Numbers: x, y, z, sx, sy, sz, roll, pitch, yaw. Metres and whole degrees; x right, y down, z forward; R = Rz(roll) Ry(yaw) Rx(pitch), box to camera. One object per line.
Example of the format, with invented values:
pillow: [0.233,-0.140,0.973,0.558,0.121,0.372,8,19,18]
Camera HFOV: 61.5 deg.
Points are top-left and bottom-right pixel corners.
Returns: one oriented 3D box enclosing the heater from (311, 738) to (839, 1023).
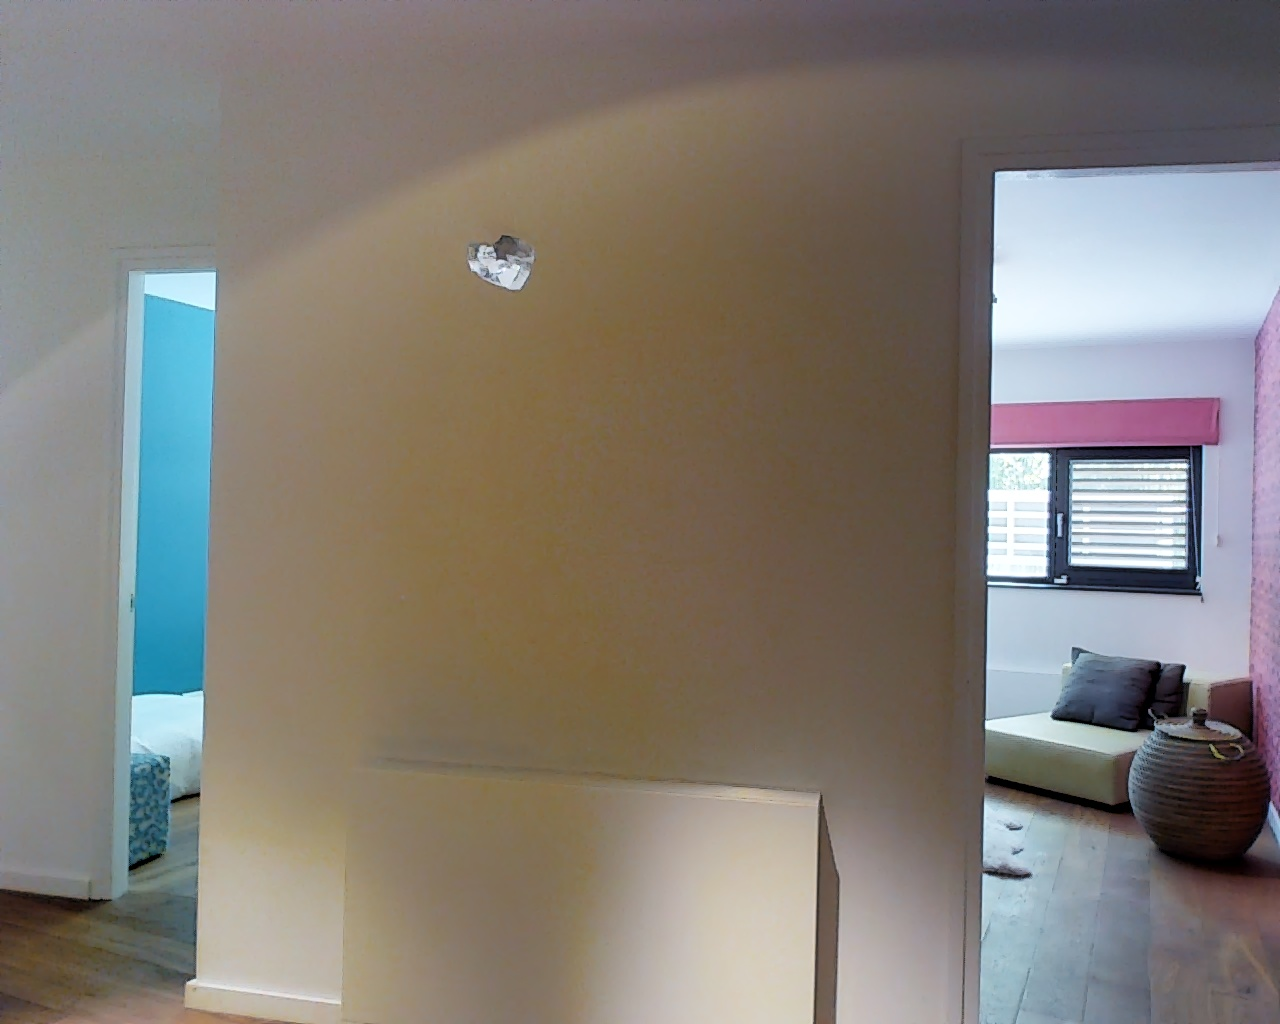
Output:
heater: [-0.170,1.040,2.760,1.310,0.780,0.270,1,-1,13]
